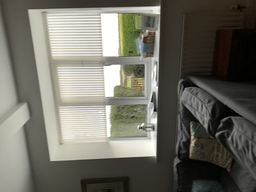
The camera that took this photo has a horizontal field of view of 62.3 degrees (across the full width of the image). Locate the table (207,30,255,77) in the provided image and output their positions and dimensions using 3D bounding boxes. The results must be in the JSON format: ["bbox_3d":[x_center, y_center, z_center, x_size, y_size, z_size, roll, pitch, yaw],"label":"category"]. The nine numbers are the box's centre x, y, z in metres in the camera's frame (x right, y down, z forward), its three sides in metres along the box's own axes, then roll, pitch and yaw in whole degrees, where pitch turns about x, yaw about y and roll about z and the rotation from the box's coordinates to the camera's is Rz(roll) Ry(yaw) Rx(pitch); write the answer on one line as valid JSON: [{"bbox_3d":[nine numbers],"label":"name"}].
[{"bbox_3d":[1.070,-0.420,2.030,0.320,0.460,0.400,-101,9,-72],"label":"table"}]

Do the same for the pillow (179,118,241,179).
[{"bbox_3d":[0.790,0.510,2.040,0.450,0.420,0.140,59,-175,-22],"label":"pillow"}]
